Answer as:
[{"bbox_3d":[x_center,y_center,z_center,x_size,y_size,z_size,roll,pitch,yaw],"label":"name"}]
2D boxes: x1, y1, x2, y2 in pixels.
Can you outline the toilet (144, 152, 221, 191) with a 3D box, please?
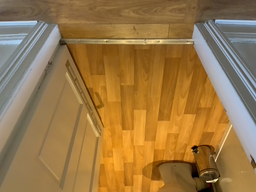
[{"bbox_3d":[0.500,1.000,2.010,0.620,0.780,0.470,0,132,-1],"label":"toilet"}]
